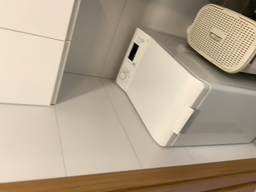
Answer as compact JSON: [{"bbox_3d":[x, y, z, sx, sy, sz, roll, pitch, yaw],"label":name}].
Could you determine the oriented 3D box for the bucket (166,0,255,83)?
[{"bbox_3d":[0.710,-0.360,1.350,0.290,0.690,0.560,-64,36,30],"label":"bucket"}]
